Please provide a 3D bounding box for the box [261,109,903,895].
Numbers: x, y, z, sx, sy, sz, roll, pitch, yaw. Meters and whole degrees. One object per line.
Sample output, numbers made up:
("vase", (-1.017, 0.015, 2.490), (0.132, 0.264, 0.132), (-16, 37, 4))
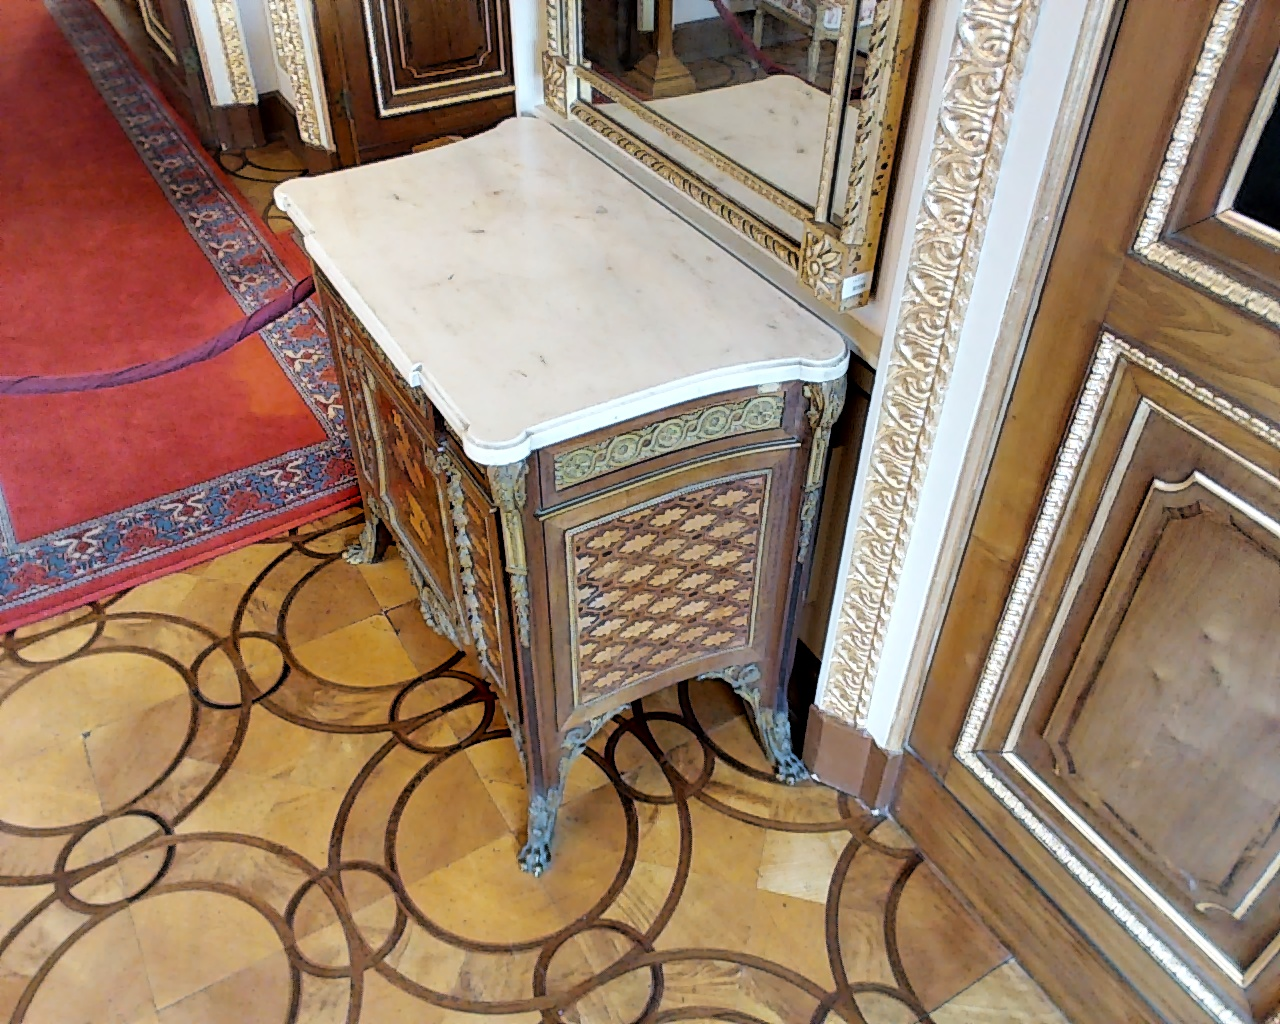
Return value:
("box", (-0.160, -0.070, 2.010), (0.600, 0.920, 1.020), (-21, 46, -23))
